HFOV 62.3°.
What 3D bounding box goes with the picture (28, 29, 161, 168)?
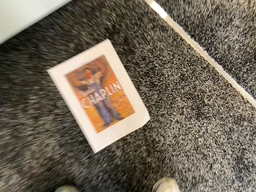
[{"bbox_3d":[-0.100,0.010,0.670,0.270,0.020,0.340,-32,95,-3],"label":"picture"}]
